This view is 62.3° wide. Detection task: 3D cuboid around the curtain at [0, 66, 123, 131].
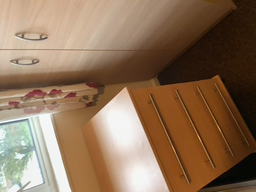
[{"bbox_3d":[-0.680,0.040,0.960,0.200,1.460,0.220,-42,66,46],"label":"curtain"}]
